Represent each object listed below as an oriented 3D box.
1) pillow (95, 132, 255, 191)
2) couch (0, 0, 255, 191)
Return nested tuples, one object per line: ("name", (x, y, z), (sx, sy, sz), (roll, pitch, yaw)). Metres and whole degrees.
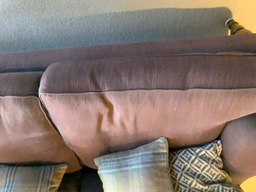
("pillow", (0.240, 0.390, 0.880), (0.680, 0.280, 0.370), (-5, 137, 3))
("couch", (-0.260, 0.290, 1.050), (1.710, 0.840, 1.030), (-5, 137, 4))
